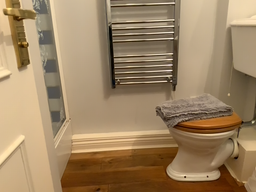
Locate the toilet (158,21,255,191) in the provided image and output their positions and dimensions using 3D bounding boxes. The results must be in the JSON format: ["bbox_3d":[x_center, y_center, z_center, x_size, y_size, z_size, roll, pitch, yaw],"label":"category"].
[{"bbox_3d":[0.540,0.060,1.260,0.630,0.940,0.500,-3,19,-2],"label":"toilet"}]
